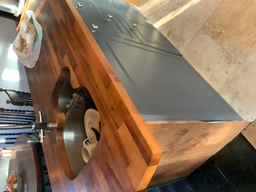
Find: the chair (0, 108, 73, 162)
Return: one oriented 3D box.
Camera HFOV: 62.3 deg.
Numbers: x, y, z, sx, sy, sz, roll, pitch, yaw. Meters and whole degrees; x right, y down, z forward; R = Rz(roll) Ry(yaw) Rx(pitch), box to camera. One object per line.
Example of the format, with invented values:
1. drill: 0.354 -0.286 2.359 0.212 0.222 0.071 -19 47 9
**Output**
1. chair: -1.400 0.520 2.950 0.440 1.050 0.530 -53 50 33
